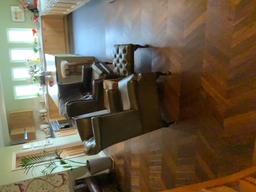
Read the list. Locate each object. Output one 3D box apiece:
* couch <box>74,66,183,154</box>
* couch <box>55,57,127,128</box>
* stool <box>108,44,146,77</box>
[{"bbox_3d":[-0.050,0.170,2.660,0.890,0.960,0.820,-21,77,63],"label":"couch"},{"bbox_3d":[-0.710,-0.110,3.870,0.820,1.030,0.930,48,137,50],"label":"couch"},{"bbox_3d":[-0.030,-0.550,3.210,0.640,0.310,0.440,22,116,61],"label":"stool"}]
